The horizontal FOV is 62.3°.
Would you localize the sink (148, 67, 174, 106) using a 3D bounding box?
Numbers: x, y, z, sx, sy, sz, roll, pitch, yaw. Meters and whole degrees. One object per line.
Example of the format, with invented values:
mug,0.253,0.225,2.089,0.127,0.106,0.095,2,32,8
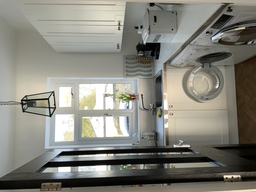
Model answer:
sink,0.430,-0.100,2.840,0.530,0.210,0.460,137,132,-83
